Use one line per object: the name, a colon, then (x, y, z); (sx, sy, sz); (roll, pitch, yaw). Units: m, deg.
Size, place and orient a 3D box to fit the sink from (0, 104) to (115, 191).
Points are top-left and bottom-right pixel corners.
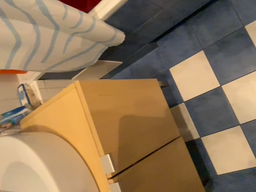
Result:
sink: (-0.260, 0.370, 0.680); (0.410, 0.220, 0.550); (-29, 78, 33)
